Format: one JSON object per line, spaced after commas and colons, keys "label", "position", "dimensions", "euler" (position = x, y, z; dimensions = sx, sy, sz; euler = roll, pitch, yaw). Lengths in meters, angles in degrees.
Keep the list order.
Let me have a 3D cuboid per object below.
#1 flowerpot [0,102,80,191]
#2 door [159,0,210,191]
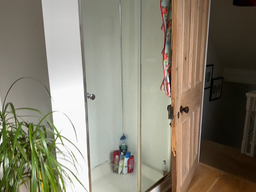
{"label": "flowerpot", "position": [-0.450, 0.580, 1.020], "dimensions": [0.360, 1.020, 0.290], "euler": [11, 18, 40]}
{"label": "door", "position": [0.500, -0.060, 1.800], "dimensions": [0.130, 2.080, 0.830], "euler": [7, 16, 29]}
